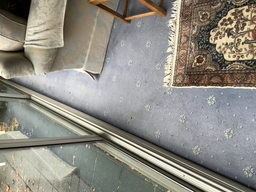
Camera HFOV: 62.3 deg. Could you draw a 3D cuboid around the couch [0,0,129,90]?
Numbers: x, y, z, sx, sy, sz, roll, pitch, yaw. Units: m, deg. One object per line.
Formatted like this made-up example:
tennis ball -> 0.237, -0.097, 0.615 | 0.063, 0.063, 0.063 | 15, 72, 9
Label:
couch -> -1.030, -0.860, 2.110 | 1.960, 0.890, 1.200 | 15, 95, 42
